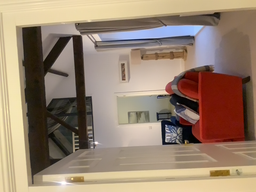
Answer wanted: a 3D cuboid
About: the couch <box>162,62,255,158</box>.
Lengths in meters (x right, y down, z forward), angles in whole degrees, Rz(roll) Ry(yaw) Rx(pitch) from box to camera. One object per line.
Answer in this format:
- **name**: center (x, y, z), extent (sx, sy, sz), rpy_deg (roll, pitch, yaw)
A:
- **couch**: center (1.070, 0.170, 3.160), extent (1.280, 0.910, 1.090), rpy_deg (-1, -92, -88)
